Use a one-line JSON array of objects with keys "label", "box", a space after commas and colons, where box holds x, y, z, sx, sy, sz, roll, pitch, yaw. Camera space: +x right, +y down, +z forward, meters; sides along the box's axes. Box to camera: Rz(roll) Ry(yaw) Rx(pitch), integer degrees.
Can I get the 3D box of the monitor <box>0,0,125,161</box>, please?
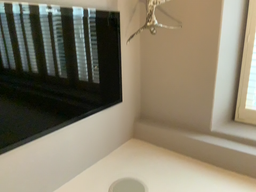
[{"label": "monitor", "box": [-0.370, -0.140, 1.170, 0.040, 0.680, 1.140, 10, -159, 33]}]
